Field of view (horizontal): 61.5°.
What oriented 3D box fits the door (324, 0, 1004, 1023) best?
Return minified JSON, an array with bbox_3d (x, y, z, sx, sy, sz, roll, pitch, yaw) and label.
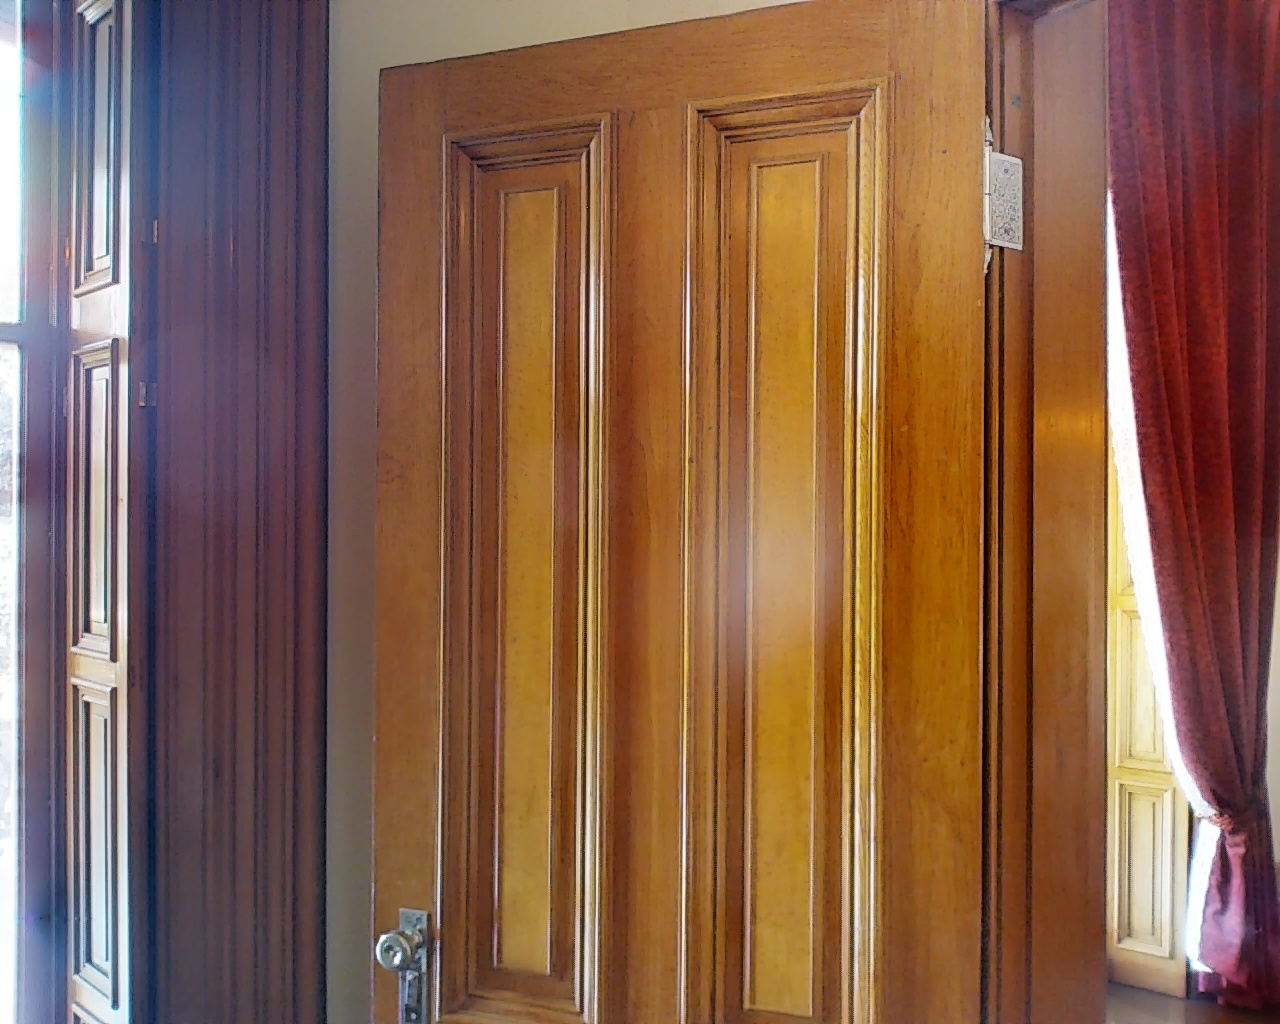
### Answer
[{"bbox_3d":[-0.010,0.380,1.550,0.990,2.280,0.090,1,0,20],"label":"door"}]
